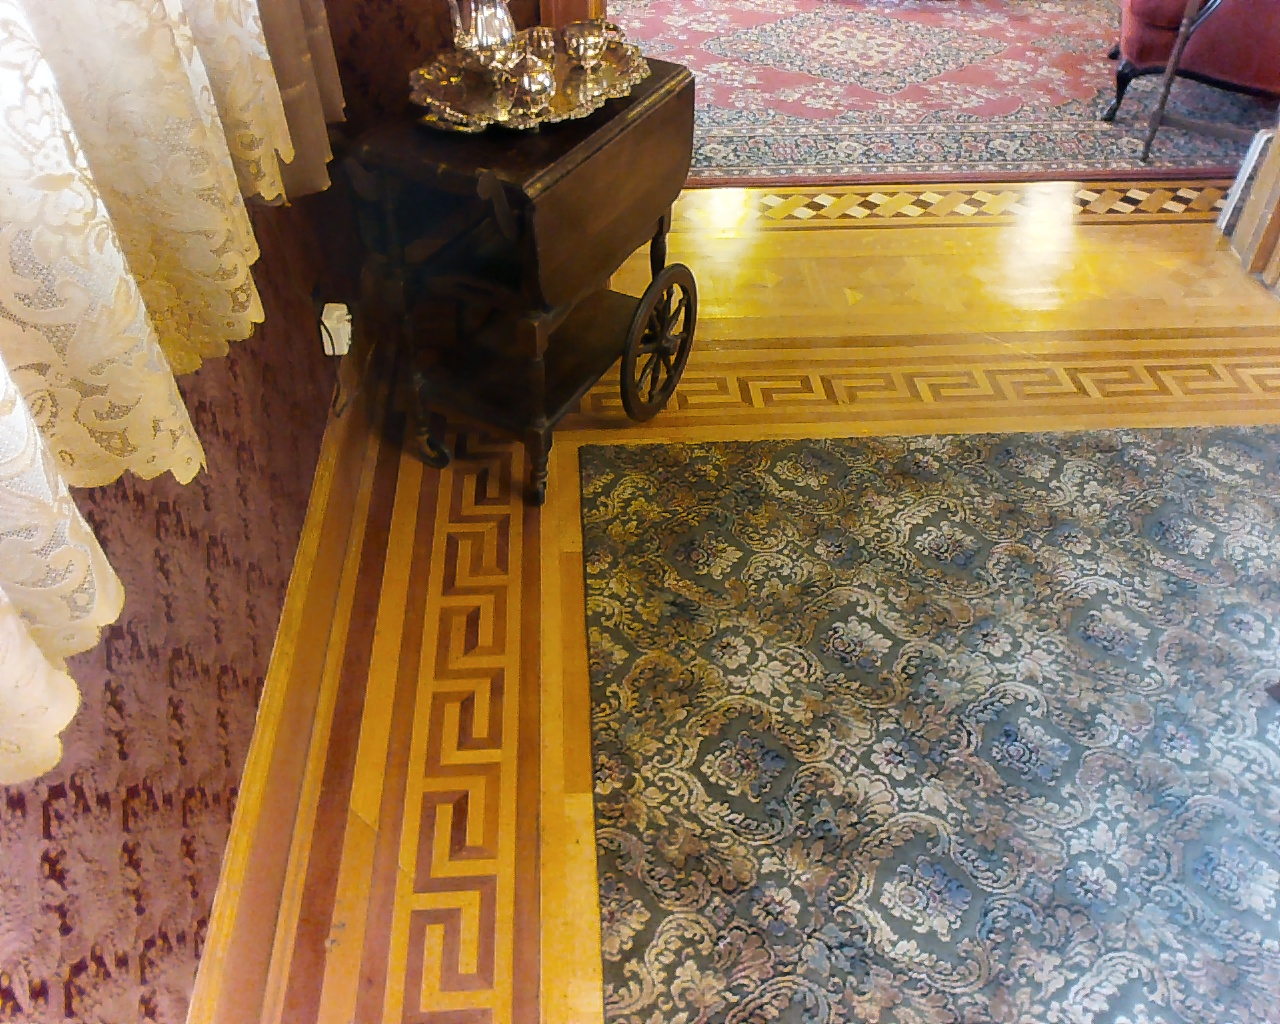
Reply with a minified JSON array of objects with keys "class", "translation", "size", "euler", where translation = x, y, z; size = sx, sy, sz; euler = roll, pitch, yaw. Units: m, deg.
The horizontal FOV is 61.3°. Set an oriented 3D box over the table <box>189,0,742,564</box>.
[{"class":"table","translation":[-0.270,-0.550,2.220],"size":[0.630,0.830,0.830],"euler":[19,46,19]}]
